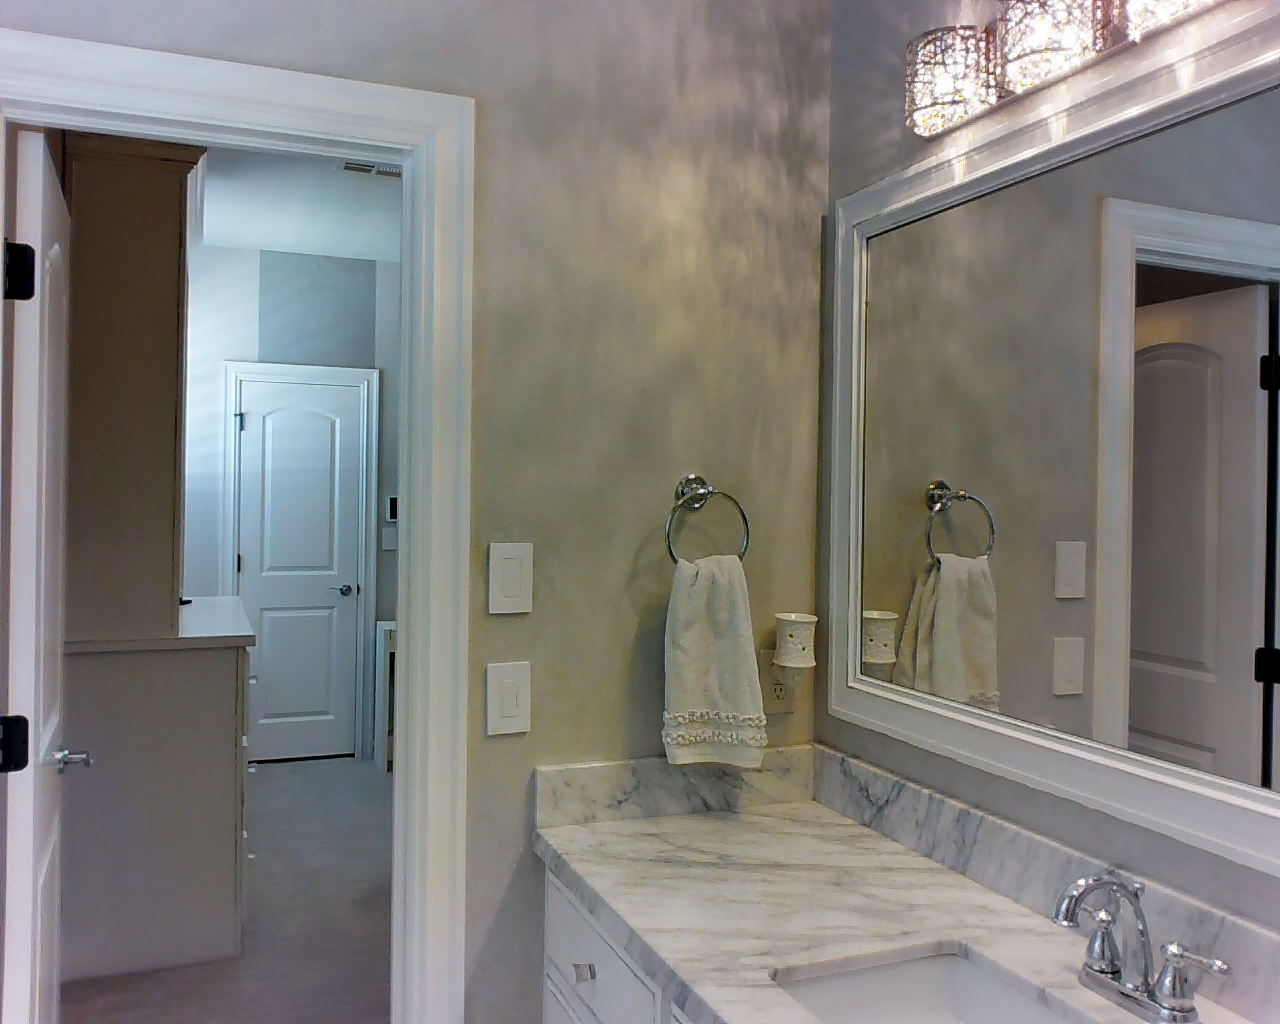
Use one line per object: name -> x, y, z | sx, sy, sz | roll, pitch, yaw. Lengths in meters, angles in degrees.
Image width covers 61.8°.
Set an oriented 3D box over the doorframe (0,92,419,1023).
doorframe -> -0.680, 0.430, 1.720 | 0.600, 2.060, 0.160 | 0, 0, -22
